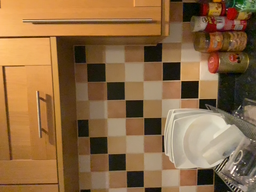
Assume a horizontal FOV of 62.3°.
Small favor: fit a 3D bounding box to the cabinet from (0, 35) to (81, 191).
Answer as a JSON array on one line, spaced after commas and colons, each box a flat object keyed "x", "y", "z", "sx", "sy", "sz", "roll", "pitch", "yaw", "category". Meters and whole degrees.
[{"x": -0.450, "y": 0.330, "z": 1.020, "sx": 0.310, "sy": 0.360, "sz": 1.160, "roll": -100, "pitch": 9, "yaw": -83, "category": "cabinet"}]
